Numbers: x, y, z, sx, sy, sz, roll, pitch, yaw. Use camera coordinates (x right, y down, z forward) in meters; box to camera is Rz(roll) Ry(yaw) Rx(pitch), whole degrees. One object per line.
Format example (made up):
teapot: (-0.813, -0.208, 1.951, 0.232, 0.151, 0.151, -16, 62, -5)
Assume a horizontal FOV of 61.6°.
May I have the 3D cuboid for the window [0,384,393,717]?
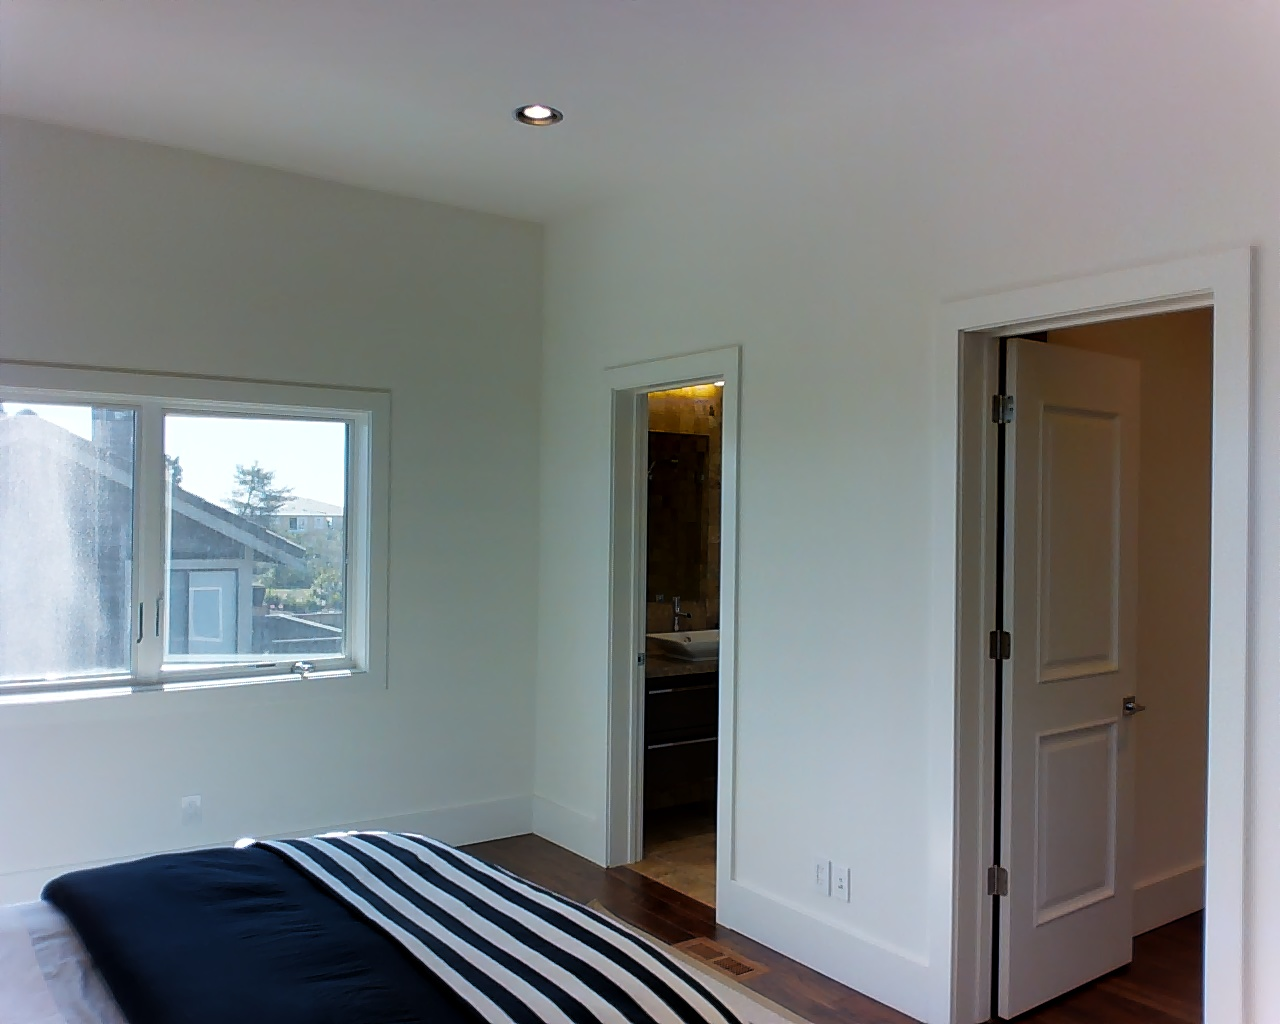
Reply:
window: (-1.950, 0.150, 4.440, 1.840, 1.240, 0.240, 1, 0, -35)
